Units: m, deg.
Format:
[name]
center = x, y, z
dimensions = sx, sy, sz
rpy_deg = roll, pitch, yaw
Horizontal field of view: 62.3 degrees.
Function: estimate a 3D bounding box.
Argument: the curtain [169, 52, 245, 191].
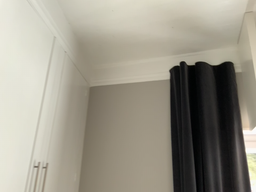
[curtain]
center = 0.570, 0.780, 1.520
dimensions = 0.480, 2.350, 0.130
rpy_deg = -3, 160, 16
